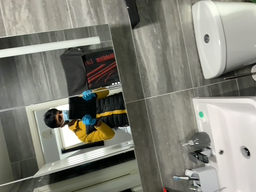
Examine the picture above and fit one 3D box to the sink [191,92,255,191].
[{"bbox_3d":[0.540,0.300,1.030,0.450,0.120,0.620,175,83,-75],"label":"sink"}]
